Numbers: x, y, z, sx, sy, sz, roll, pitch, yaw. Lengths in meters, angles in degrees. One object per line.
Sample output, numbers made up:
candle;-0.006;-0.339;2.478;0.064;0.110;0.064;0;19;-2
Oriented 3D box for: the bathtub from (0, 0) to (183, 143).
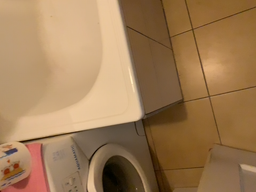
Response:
bathtub;-0.270;-0.460;0.940;0.680;0.550;1.160;-13;89;25
